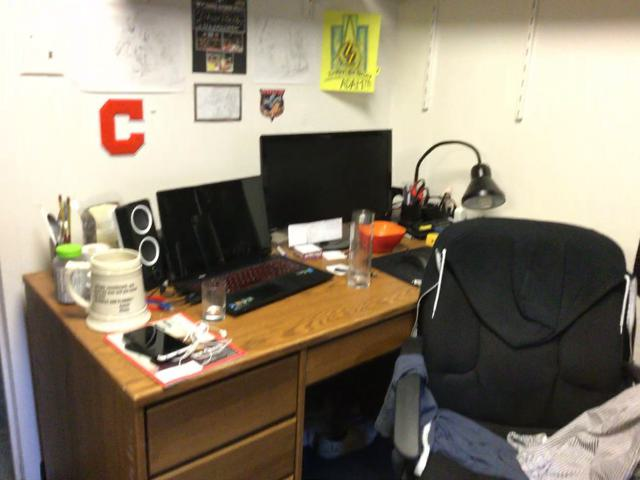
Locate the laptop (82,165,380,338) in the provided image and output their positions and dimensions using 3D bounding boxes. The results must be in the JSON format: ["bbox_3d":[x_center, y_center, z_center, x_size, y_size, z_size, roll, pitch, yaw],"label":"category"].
[{"bbox_3d":[-0.250,-0.020,1.670,0.670,0.290,0.500,-10,20,-39],"label":"laptop"}]

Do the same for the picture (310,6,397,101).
[{"bbox_3d":[0.130,-0.700,2.210,0.330,0.320,0.110,-10,20,-39],"label":"picture"}]

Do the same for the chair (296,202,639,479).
[{"bbox_3d":[0.490,0.510,1.360,0.750,1.000,0.800,-10,20,-39],"label":"chair"}]
